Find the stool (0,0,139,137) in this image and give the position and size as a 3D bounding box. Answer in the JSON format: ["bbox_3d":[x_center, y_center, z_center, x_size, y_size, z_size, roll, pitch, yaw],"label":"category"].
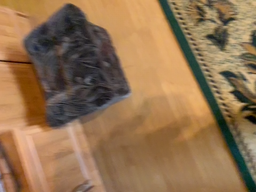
[{"bbox_3d":[-0.280,-0.130,1.070,0.400,0.360,0.490,-27,81,24],"label":"stool"}]
